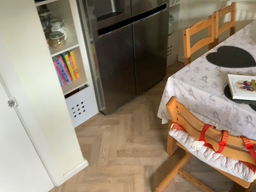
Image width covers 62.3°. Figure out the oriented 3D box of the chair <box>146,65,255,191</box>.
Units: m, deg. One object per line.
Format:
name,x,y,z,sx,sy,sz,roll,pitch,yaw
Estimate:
chair,0.470,0.350,1.210,0.530,0.780,0.500,-33,47,-31
